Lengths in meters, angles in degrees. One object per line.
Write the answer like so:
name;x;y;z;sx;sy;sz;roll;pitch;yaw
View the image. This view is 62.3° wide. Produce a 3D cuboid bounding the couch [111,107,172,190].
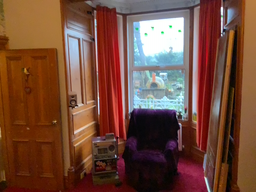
couch;0.280;0.760;3.420;0.850;0.990;0.920;0;8;12
